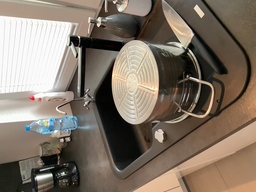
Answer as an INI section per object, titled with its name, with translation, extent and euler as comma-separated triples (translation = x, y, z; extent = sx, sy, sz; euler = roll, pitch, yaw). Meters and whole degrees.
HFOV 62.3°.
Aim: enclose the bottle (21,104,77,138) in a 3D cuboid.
[bottle]
translation = -0.520, 0.160, 1.390
extent = 0.200, 0.300, 0.110
euler = -54, 49, 43
